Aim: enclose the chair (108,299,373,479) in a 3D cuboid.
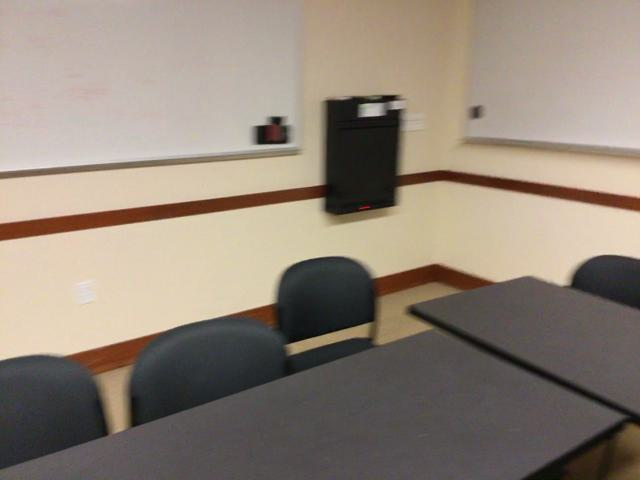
[{"bbox_3d":[-0.220,0.630,1.520,0.500,0.760,0.540,-7,14,-27],"label":"chair"}]
